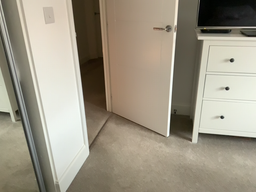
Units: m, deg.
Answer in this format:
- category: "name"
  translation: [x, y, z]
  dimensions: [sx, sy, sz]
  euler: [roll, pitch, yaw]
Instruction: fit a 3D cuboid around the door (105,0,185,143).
- category: "door"
  translation: [0.110, -0.590, 1.890]
  dimensions: [0.780, 2.030, 0.070]
  euler: [18, 30, 36]
